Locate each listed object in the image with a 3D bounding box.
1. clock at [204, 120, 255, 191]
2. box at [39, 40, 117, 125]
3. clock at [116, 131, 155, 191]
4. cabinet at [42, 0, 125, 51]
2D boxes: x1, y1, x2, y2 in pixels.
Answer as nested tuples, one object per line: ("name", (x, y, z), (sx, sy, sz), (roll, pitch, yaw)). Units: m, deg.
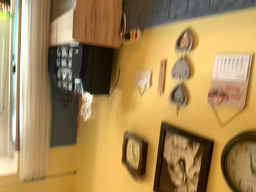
("clock", (0.500, 0.280, 0.830), (0.090, 0.280, 0.370), (1, -172, -33))
("box", (-0.520, -0.150, 2.020), (0.440, 0.630, 0.800), (1, -172, -34))
("clock", (0.040, 0.470, 1.560), (0.080, 0.330, 0.350), (1, -172, -32))
("cabinet", (-0.410, -1.160, 1.890), (0.470, 1.420, 0.820), (1, -172, -33))
